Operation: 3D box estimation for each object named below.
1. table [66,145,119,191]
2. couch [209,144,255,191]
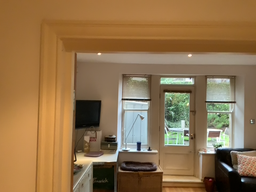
[{"bbox_3d":[-0.630,1.420,4.070,0.840,0.760,0.890,1,-1,2],"label":"table"},{"bbox_3d":[2.460,1.420,3.910,1.600,0.820,0.930,1,-1,3],"label":"couch"}]
